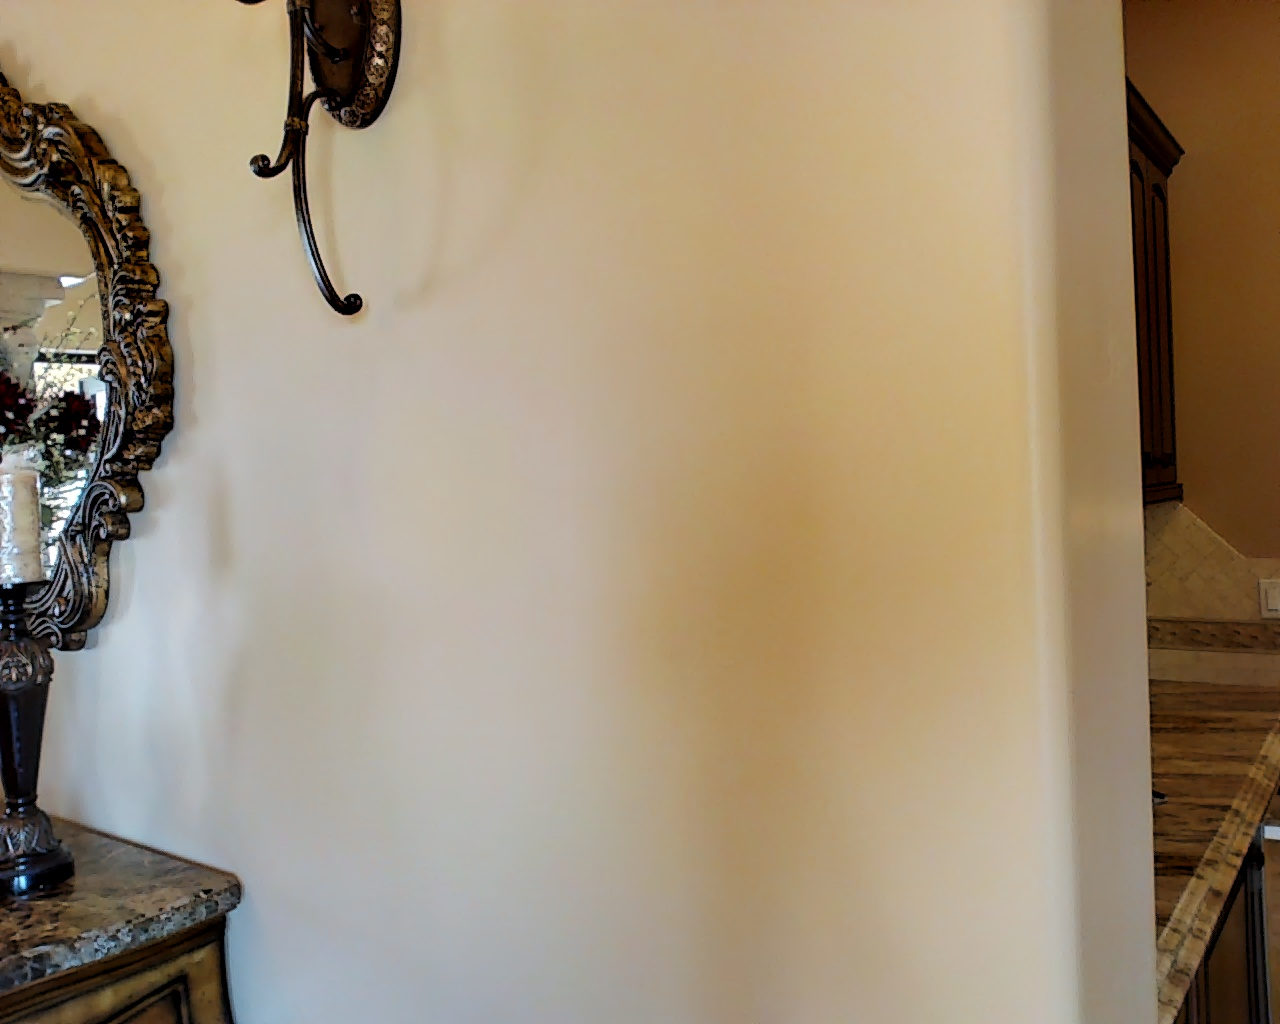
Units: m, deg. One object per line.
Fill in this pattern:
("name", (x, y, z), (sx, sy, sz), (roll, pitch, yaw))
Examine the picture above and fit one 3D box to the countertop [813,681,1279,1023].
("countertop", (1.080, 0.590, 2.210), (0.370, 0.050, 2.420), (-2, 1, 36))
